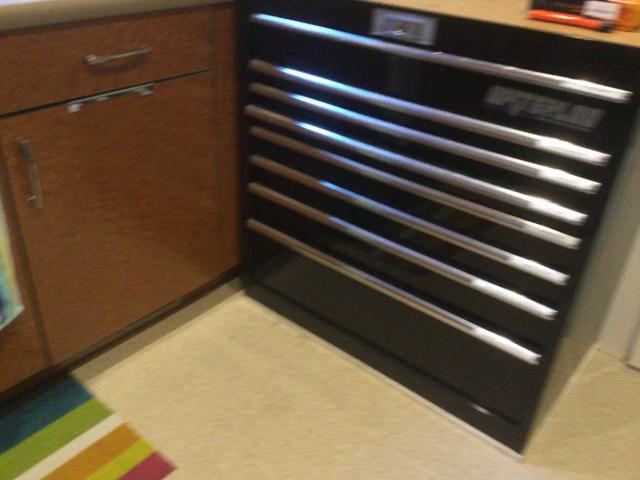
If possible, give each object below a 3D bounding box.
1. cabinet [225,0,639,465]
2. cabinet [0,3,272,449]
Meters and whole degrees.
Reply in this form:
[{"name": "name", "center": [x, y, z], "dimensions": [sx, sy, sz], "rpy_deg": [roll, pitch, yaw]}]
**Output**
[{"name": "cabinet", "center": [0.270, -0.130, 1.480], "dimensions": [0.910, 0.890, 0.500], "rpy_deg": [24, 36, 31]}, {"name": "cabinet", "center": [-0.680, 0.060, 1.100], "dimensions": [0.110, 0.820, 1.610], "rpy_deg": [24, 36, 31]}]
